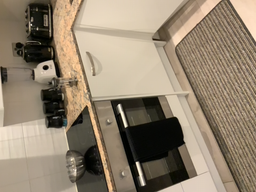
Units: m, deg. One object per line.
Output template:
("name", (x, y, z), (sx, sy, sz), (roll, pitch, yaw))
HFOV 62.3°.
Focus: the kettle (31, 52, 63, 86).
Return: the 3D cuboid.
("kettle", (-0.670, -0.220, 1.740), (0.170, 0.190, 0.210), (-39, 61, 51))
